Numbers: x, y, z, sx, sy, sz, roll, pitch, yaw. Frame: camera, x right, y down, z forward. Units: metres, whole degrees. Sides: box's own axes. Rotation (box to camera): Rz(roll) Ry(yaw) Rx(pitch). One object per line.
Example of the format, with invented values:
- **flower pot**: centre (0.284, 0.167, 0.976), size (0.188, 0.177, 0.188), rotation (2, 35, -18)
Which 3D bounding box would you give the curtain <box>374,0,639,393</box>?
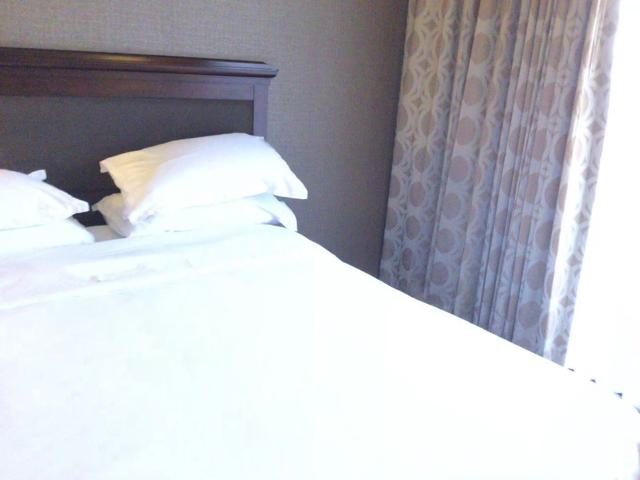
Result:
- **curtain**: centre (0.850, -0.510, 2.850), size (0.360, 2.130, 1.190), rotation (-9, 19, -34)
